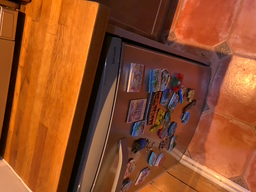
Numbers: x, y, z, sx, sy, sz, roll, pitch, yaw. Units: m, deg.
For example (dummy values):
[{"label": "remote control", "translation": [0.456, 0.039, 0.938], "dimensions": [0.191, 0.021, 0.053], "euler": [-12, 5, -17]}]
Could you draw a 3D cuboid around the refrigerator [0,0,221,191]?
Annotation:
[{"label": "refrigerator", "translation": [-0.010, 0.070, 0.950], "dimensions": [0.390, 0.920, 0.690], "euler": [25, 106, 32]}]
